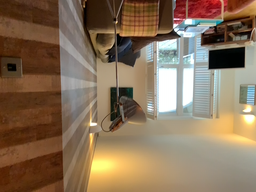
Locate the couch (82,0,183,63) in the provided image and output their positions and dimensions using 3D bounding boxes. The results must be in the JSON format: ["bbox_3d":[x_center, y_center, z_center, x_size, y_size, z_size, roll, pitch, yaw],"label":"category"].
[{"bbox_3d":[-0.060,-1.030,3.350,1.030,0.780,2.420,-1,-176,-6],"label":"couch"}]
